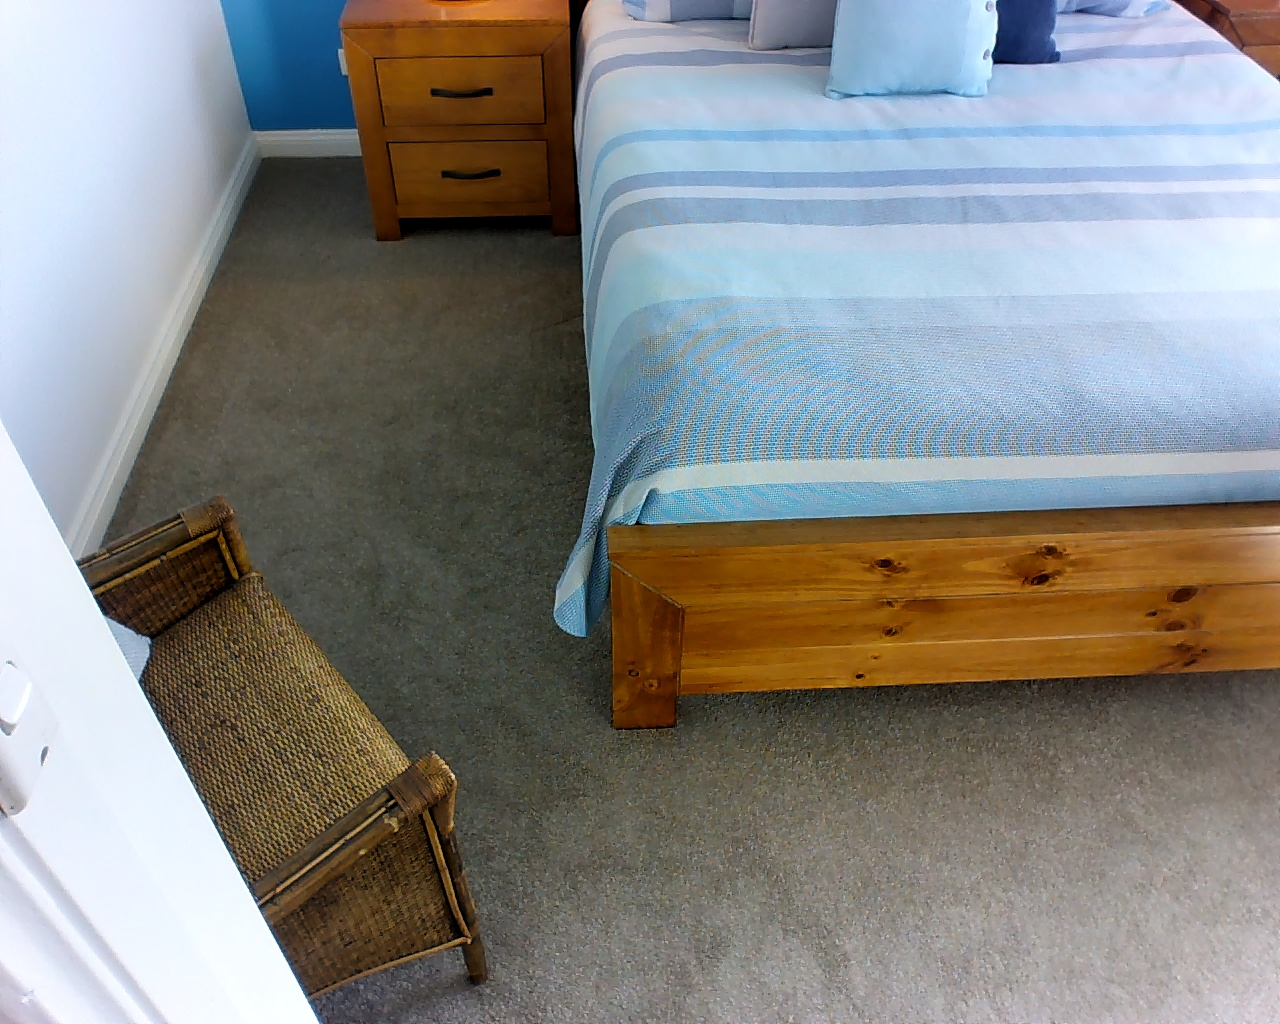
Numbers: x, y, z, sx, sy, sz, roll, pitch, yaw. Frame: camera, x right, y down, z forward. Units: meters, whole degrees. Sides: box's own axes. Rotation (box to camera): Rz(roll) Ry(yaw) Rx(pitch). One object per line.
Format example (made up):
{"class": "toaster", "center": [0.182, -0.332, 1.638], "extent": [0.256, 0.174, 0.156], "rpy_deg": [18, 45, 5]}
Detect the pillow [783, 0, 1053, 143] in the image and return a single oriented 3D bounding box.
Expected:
{"class": "pillow", "center": [0.590, -1.070, 2.280], "extent": [0.420, 0.370, 0.210], "rpy_deg": [14, 41, -17]}

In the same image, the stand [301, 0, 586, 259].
{"class": "stand", "center": [-0.490, -1.130, 2.930], "extent": [0.650, 0.660, 0.520], "rpy_deg": [-2, 44, -4]}
